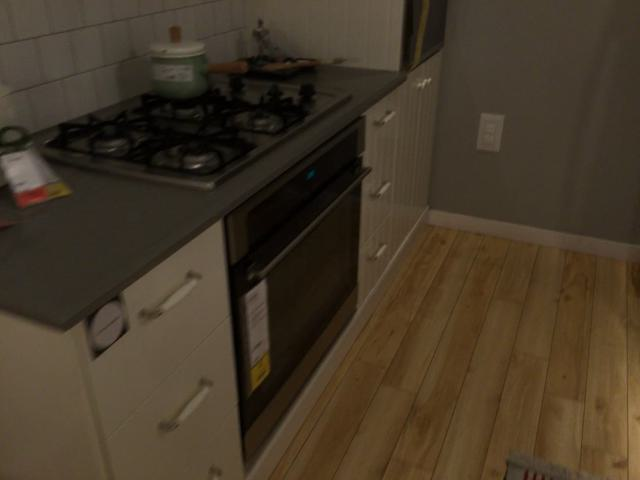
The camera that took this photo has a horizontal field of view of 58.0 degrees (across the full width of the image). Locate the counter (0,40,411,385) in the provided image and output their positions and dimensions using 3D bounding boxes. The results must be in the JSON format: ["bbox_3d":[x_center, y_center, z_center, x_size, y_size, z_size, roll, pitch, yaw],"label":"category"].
[{"bbox_3d":[-0.310,-0.280,1.500,0.650,0.210,1.550,10,30,23],"label":"counter"}]
